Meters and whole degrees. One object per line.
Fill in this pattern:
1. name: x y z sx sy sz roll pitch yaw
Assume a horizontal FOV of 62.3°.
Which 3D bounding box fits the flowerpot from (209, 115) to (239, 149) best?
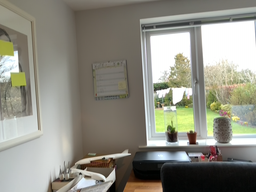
1. flowerpot: 0.890 0.330 1.980 0.200 0.280 0.190 -3 0 7
